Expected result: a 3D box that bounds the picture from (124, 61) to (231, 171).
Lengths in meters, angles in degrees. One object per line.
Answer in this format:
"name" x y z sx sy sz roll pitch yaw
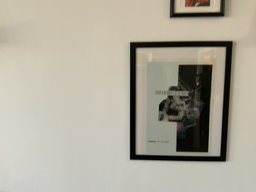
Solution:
"picture" 0.210 0.090 0.970 0.450 0.480 0.070 1 7 2
